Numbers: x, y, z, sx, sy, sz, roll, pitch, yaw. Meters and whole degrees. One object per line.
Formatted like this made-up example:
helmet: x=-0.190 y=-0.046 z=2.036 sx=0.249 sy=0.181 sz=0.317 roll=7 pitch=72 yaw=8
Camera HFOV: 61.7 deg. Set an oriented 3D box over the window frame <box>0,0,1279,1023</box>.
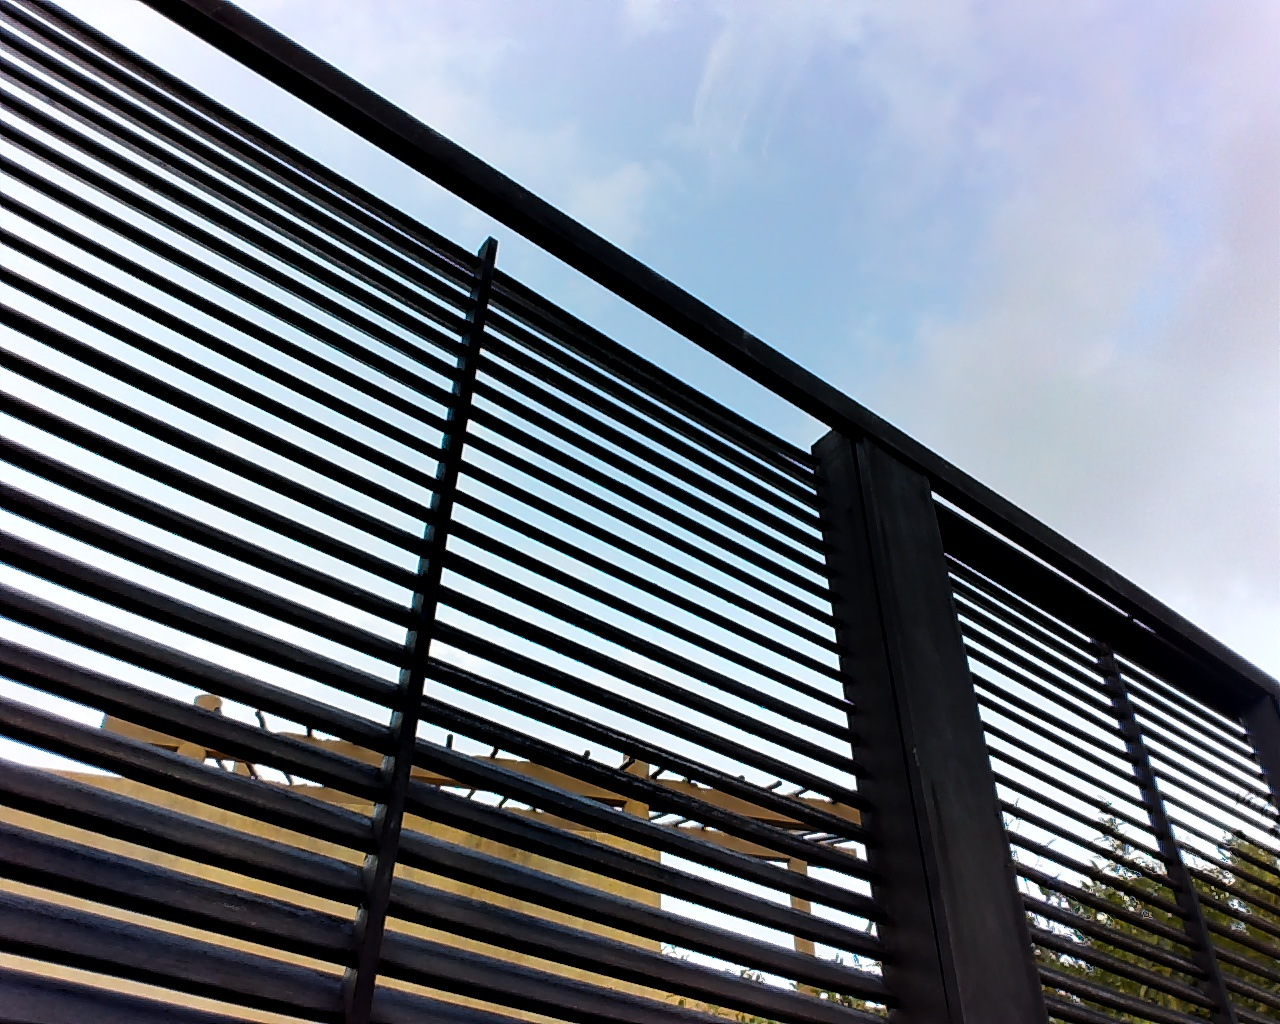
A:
window frame: x=0.130 y=0.500 z=0.720 sx=2.890 sy=2.070 sz=0.200 roll=27 pitch=-49 yaw=-26
